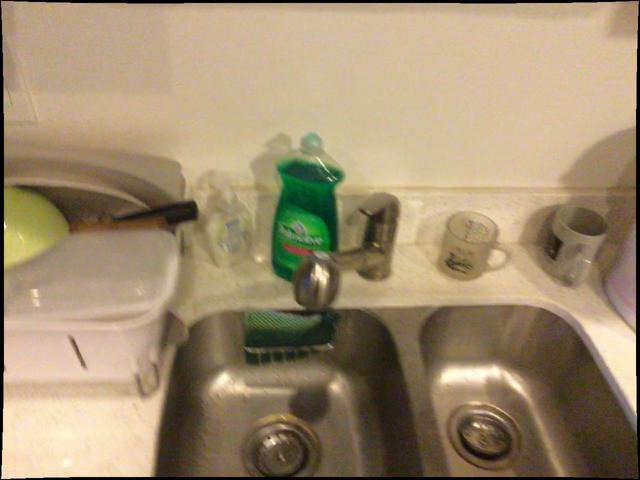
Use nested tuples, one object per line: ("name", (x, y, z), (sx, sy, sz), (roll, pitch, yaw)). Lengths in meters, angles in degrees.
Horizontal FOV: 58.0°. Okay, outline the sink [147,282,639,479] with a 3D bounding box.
("sink", (0.100, 0.281, 0.840), (0.639, 0.200, 0.380), (-2, 43, -7))
